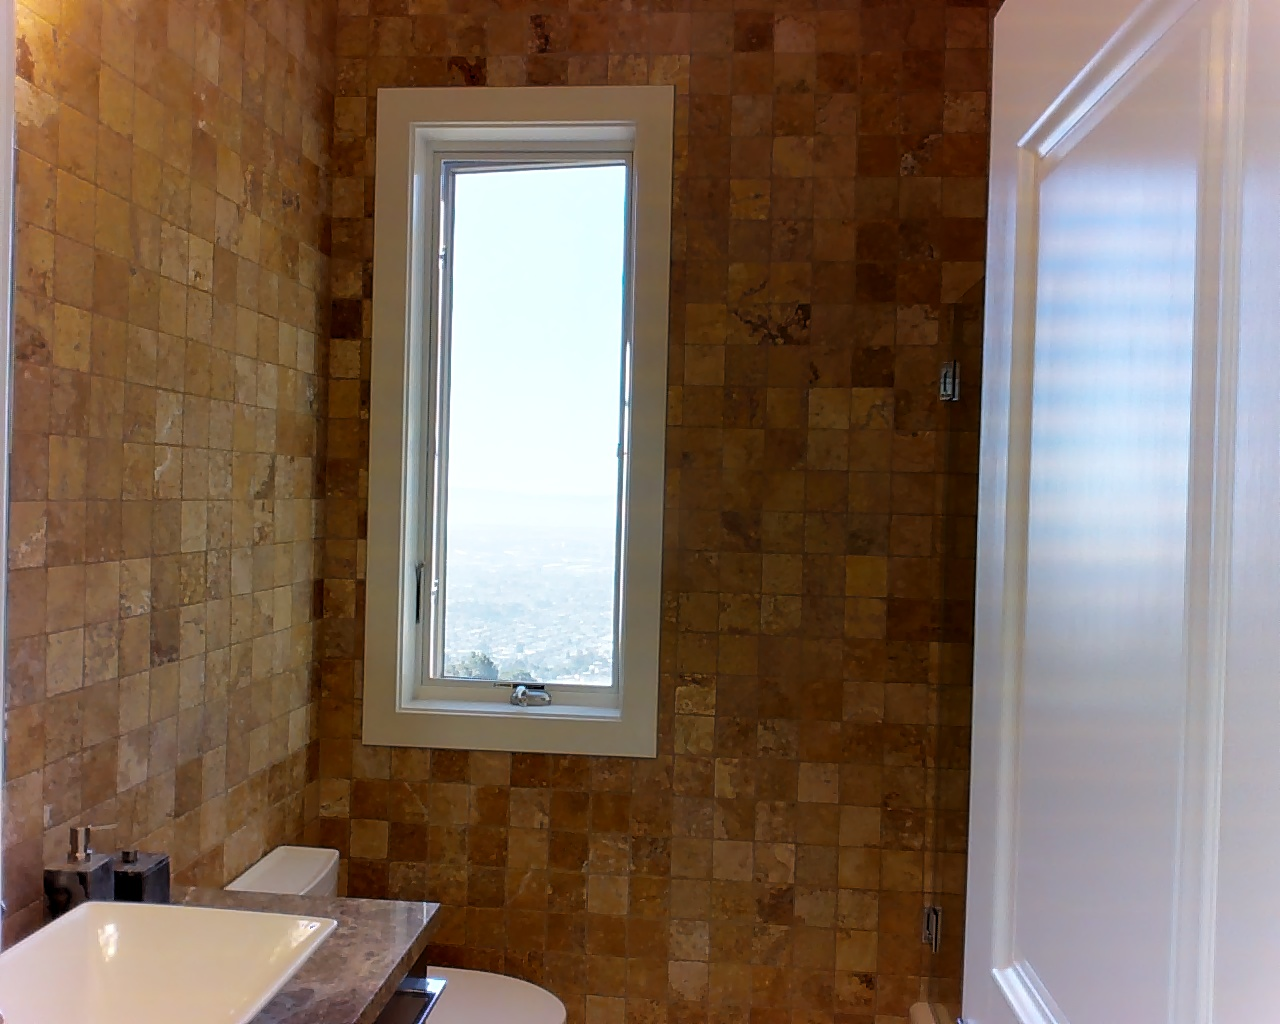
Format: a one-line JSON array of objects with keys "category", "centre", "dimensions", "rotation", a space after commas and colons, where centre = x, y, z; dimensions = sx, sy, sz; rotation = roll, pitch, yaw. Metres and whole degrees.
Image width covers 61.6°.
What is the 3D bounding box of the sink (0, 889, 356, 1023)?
[{"category": "sink", "centre": [-0.640, 0.620, 1.240], "dimensions": [0.430, 0.140, 0.570], "rotation": [2, 1, 5]}]
